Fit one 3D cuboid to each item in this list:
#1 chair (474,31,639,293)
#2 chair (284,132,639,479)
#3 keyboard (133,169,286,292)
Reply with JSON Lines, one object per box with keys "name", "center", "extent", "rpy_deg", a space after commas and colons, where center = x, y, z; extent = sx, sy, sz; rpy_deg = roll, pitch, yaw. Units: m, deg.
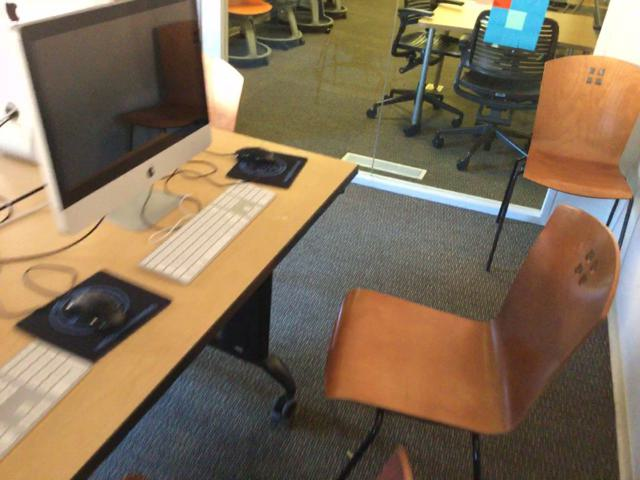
{"name": "chair", "center": [1.050, -0.340, 2.420], "extent": [0.540, 0.840, 0.550], "rpy_deg": [16, 35, 15]}
{"name": "chair", "center": [0.290, 0.260, 1.380], "extent": [0.580, 0.780, 0.570], "rpy_deg": [12, 34, 10]}
{"name": "keyboard", "center": [-0.220, -0.040, 1.260], "extent": [0.120, 0.030, 0.440], "rpy_deg": [16, 35, 15]}
